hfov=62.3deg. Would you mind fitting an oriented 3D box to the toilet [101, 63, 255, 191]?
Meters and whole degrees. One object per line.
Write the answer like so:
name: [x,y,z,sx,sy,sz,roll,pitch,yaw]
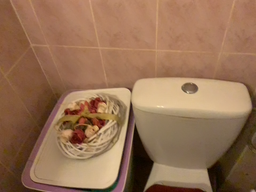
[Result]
toilet: [0.170,0.430,0.770,0.380,0.780,0.740,5,47,10]
